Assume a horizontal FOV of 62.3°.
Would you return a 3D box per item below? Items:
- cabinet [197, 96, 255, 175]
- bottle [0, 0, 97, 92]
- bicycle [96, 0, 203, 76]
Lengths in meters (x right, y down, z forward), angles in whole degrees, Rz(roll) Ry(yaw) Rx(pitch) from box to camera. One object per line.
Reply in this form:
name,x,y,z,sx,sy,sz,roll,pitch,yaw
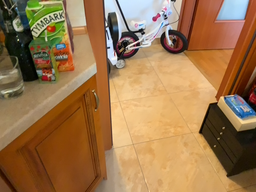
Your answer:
cabinet,0.720,0.250,1.390,0.320,0.300,0.350,-9,43,-12
bottle,-0.220,-0.240,0.630,0.180,0.280,0.340,-10,43,-12
bicycle,0.160,-0.650,2.150,0.890,0.680,0.470,-6,42,-8
